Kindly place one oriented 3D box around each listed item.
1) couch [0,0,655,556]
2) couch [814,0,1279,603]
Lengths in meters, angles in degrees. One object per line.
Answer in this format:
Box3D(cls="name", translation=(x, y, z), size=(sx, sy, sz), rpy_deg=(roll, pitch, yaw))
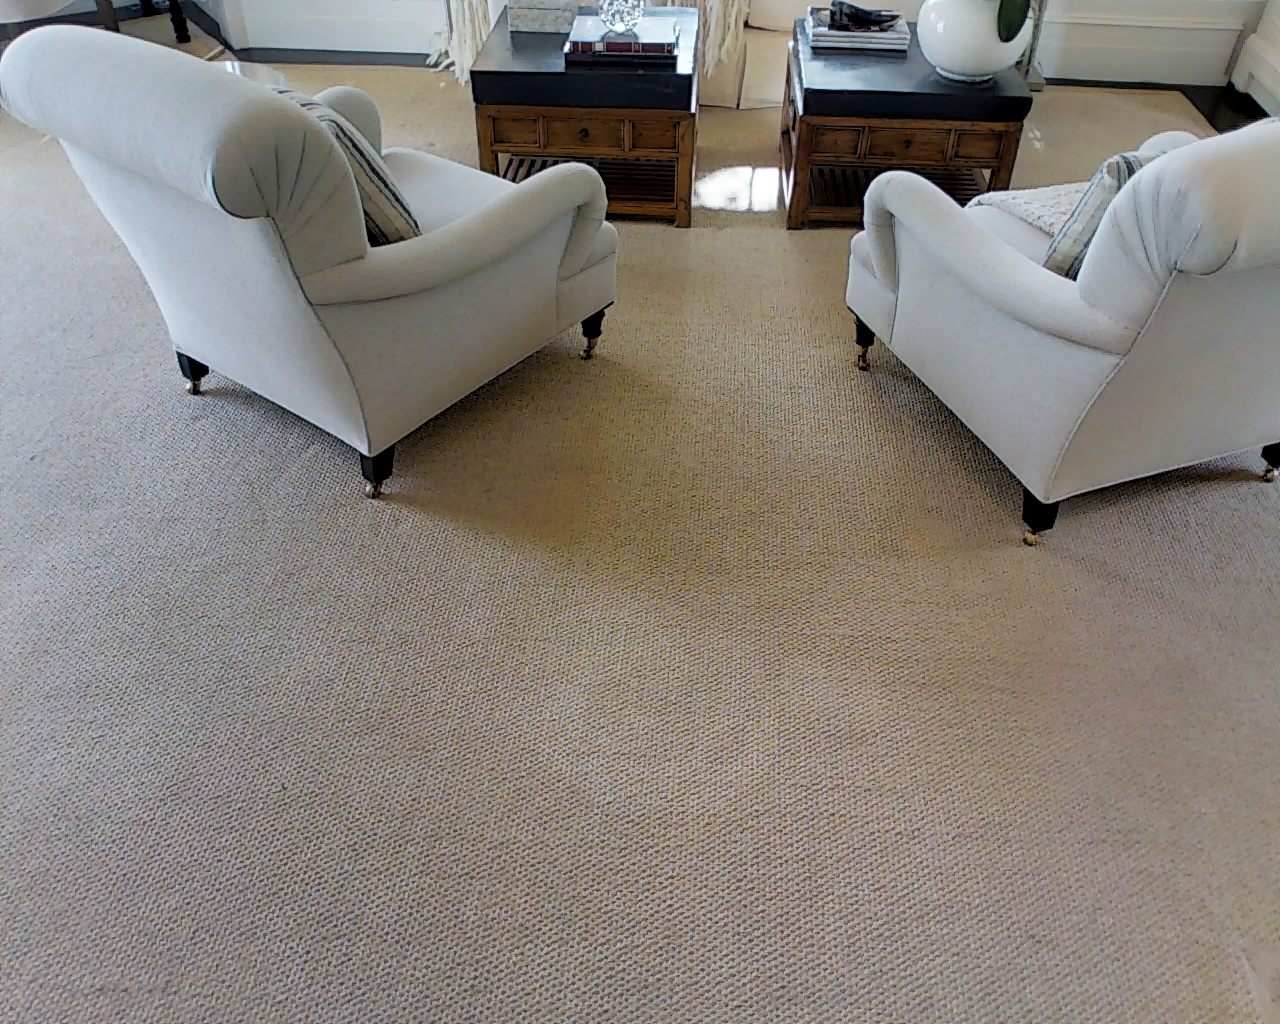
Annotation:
Box3D(cls="couch", translation=(-0.660, -0.710, 2.470), size=(0.920, 0.910, 1.050), rpy_deg=(28, 48, 27))
Box3D(cls="couch", translation=(1.100, -0.590, 2.350), size=(0.910, 0.880, 1.070), rpy_deg=(-15, 44, -18))
